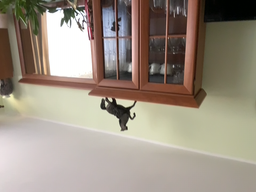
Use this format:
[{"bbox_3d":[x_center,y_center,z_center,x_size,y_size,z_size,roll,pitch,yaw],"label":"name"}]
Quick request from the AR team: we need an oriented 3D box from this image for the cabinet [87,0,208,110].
[{"bbox_3d":[0.140,-0.940,1.440,0.750,1.950,0.420,7,-164,26],"label":"cabinet"}]
